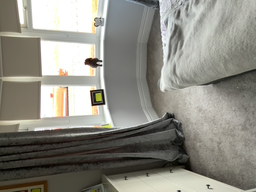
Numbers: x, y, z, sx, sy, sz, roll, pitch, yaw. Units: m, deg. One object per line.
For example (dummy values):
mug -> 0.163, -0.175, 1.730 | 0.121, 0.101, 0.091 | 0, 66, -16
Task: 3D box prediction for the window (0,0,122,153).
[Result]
window -> -1.000, -0.430, 2.760 | 0.670, 1.640, 2.080 | 168, 101, -70
